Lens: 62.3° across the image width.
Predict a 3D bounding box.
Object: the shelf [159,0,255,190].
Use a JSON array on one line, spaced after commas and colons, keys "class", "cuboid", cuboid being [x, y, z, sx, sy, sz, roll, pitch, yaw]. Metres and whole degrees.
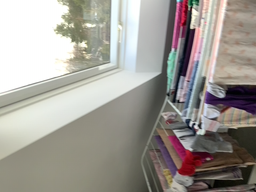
[{"class": "shelf", "cuboid": [0.820, -0.270, 1.150, 0.550, 1.010, 1.390, -112, 25, -68]}]
